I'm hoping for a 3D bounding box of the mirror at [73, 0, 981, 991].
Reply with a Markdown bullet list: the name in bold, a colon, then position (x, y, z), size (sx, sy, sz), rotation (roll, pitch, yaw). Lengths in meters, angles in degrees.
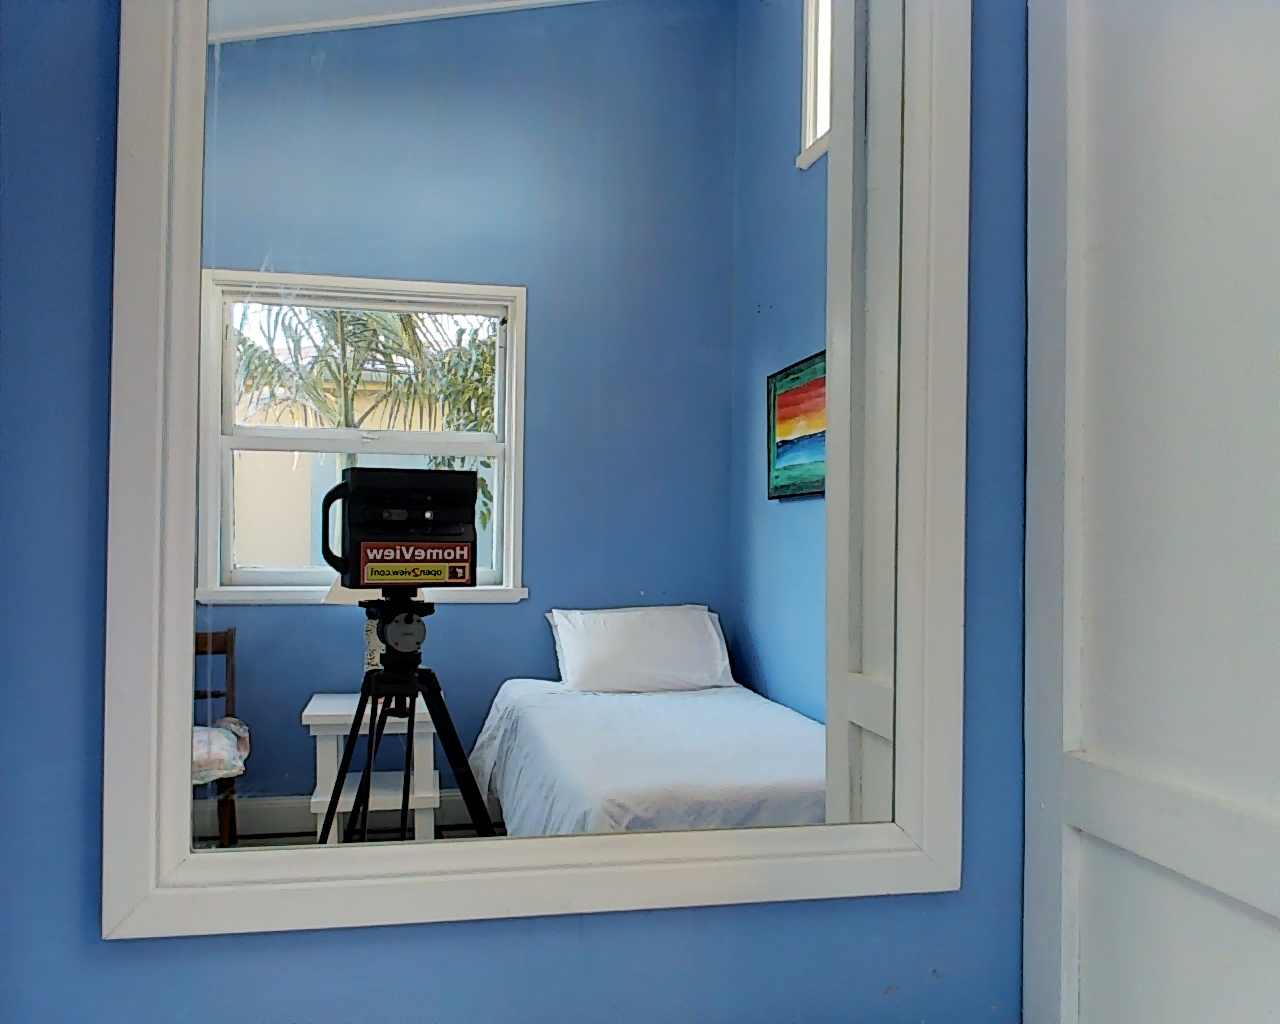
- **mirror**: position (-0.070, -0.130, 1.010), size (0.820, 1.060, 0.060), rotation (1, 0, -13)
